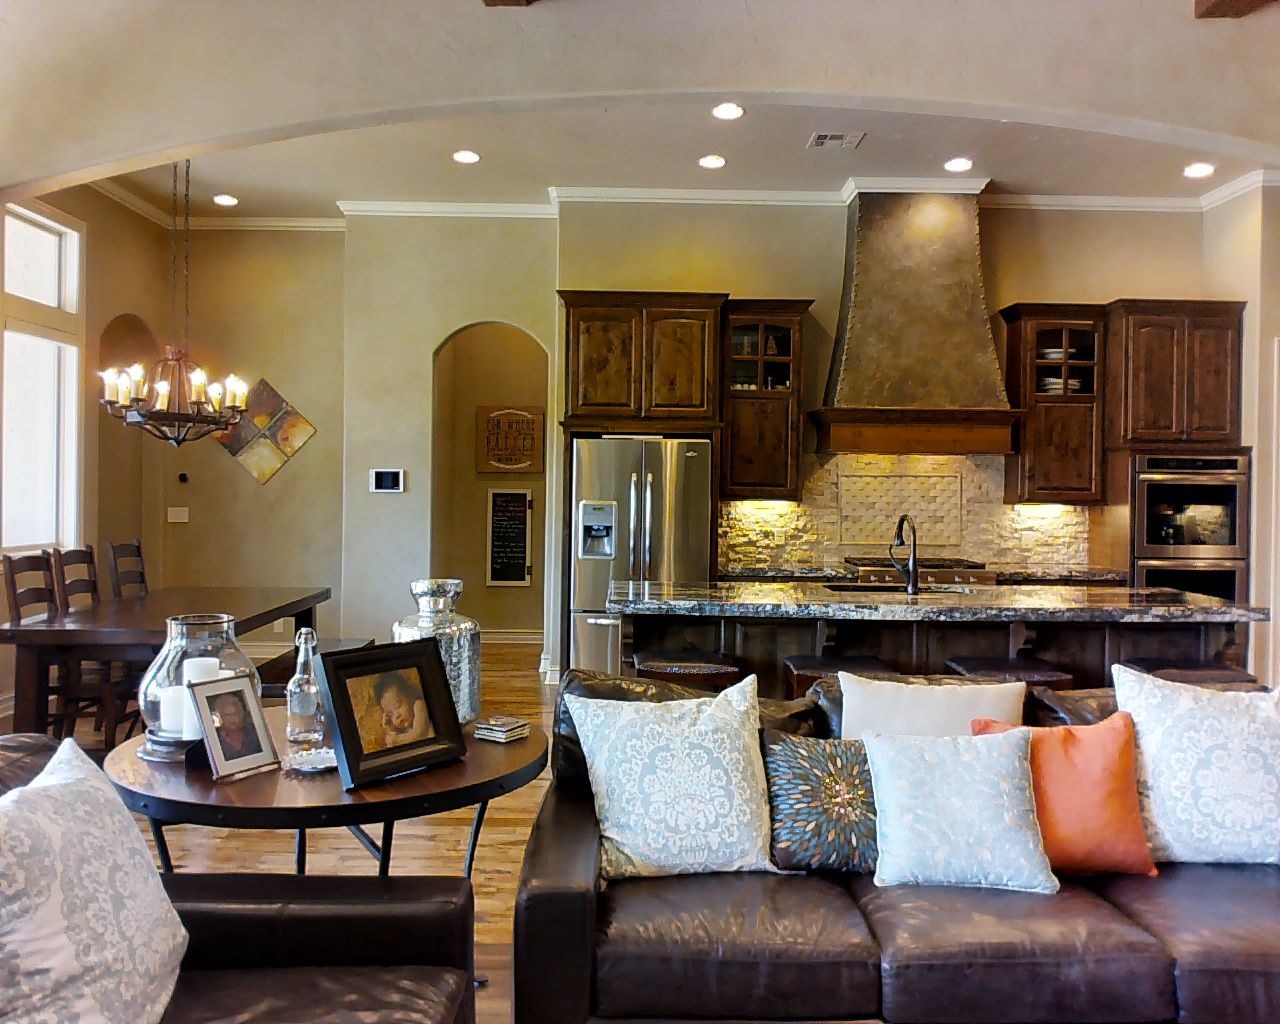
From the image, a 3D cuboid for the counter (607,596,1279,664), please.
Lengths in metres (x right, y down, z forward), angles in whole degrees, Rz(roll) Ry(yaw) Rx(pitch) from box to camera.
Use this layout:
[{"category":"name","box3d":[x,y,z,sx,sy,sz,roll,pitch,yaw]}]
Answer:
[{"category":"counter","box3d":[1.380,0.570,5.330,3.050,0.180,1.160,1,0,0]}]
